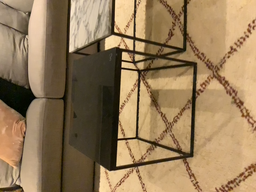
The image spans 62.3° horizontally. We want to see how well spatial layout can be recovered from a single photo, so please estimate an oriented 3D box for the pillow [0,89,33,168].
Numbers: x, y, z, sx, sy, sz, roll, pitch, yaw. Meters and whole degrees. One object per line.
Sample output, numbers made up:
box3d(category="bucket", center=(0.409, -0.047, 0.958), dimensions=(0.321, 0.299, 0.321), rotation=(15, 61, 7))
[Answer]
box3d(category="pillow", center=(-0.960, 0.240, 1.640), dimensions=(0.430, 0.300, 0.420), rotation=(54, 130, 42))
